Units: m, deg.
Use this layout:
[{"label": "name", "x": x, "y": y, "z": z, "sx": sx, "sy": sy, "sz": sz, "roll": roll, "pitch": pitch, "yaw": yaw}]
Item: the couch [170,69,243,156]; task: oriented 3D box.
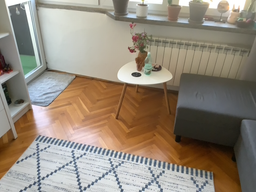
[{"label": "couch", "x": 0.710, "y": 0.120, "z": 2.040, "sx": 0.480, "sy": 0.440, "sz": 0.680, "roll": 10, "pitch": 33, "yaw": 11}]

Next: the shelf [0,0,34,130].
[{"label": "shelf", "x": -1.210, "y": -0.320, "z": 1.840, "sx": 0.350, "sy": 1.190, "sz": 0.400, "roll": 10, "pitch": 33, "yaw": 11}]

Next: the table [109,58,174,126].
[{"label": "table", "x": 0.150, "y": -0.070, "z": 2.300, "sx": 0.570, "sy": 0.450, "sz": 0.500, "roll": 12, "pitch": 33, "yaw": 13}]
